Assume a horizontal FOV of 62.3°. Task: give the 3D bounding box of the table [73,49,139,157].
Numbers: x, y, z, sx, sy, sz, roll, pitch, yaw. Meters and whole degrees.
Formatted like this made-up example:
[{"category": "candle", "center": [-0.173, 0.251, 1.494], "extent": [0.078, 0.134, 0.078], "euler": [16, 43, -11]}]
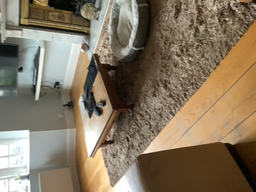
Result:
[{"category": "table", "center": [-0.310, 0.090, 2.340], "extent": [0.870, 0.300, 0.780], "euler": [-62, 40, 42]}]
